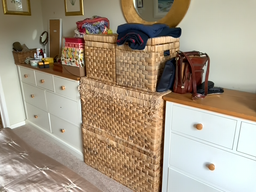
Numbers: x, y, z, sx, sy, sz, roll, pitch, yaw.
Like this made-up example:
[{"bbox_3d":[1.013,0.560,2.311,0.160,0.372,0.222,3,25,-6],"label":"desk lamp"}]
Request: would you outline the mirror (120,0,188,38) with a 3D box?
[{"bbox_3d":[0.190,-0.840,1.720,0.600,0.690,0.110,16,24,40],"label":"mirror"}]
